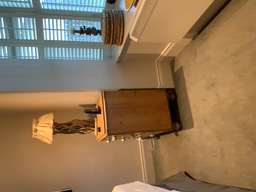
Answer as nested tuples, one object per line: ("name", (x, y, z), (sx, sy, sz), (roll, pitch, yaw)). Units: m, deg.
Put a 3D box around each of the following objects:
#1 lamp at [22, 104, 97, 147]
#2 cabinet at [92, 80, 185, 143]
("lamp", (-0.780, 0.350, 2.510), (0.430, 0.760, 0.380), (125, 141, -66))
("cabinet", (0.020, 0.230, 2.460), (1.040, 0.770, 0.520), (133, 133, -69))
